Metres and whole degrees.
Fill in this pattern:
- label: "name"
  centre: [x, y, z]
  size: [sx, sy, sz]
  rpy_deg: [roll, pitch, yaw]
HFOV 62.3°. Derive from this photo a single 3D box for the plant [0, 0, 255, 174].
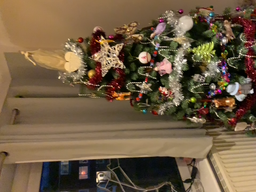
- label: "plant"
  centre: [0.310, -0.260, 1.410]
  size: [1.010, 1.910, 0.920]
  rpy_deg: [-103, 17, -45]
